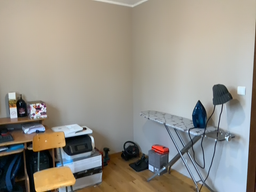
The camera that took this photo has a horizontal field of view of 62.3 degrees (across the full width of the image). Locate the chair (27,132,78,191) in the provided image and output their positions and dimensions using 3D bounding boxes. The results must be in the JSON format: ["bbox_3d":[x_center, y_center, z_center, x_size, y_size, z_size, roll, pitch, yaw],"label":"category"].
[{"bbox_3d":[-0.770,0.840,2.150,0.390,0.780,0.540,-4,8,-27],"label":"chair"}]
